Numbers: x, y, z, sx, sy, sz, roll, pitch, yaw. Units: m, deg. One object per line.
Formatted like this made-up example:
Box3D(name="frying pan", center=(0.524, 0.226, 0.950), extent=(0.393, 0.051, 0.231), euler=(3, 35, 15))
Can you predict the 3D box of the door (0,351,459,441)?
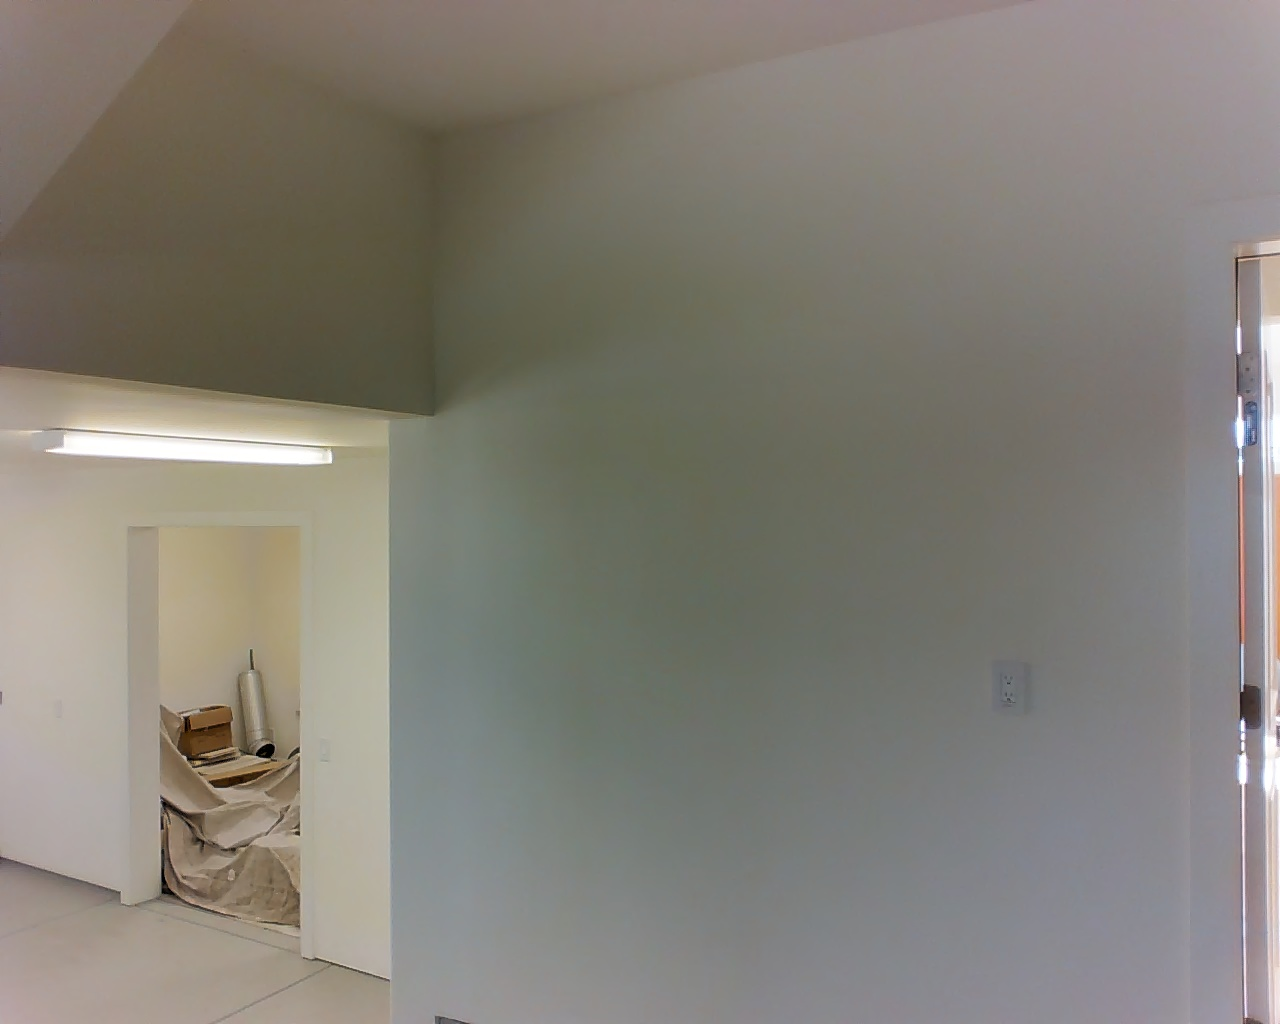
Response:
Box3D(name="door", center=(-1.110, -0.290, 2.920), extent=(0.270, 0.090, 1.560), euler=(-1, -1, 31))
